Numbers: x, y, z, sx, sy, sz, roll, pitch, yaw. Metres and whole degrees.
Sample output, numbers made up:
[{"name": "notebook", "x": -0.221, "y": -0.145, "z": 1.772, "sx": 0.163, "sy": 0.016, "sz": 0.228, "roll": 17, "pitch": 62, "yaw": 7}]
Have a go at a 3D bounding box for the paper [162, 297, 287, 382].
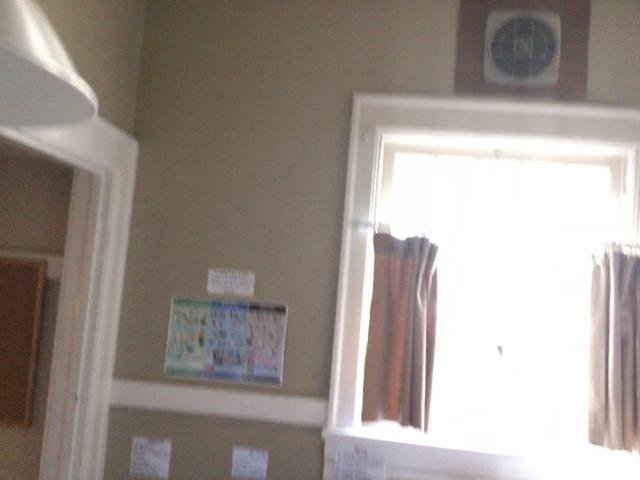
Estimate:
[{"name": "paper", "x": -0.340, "y": 0.350, "z": 2.060, "sx": 0.440, "sy": 0.280, "sz": 0.030, "roll": 1, "pitch": -7, "yaw": 9}]
